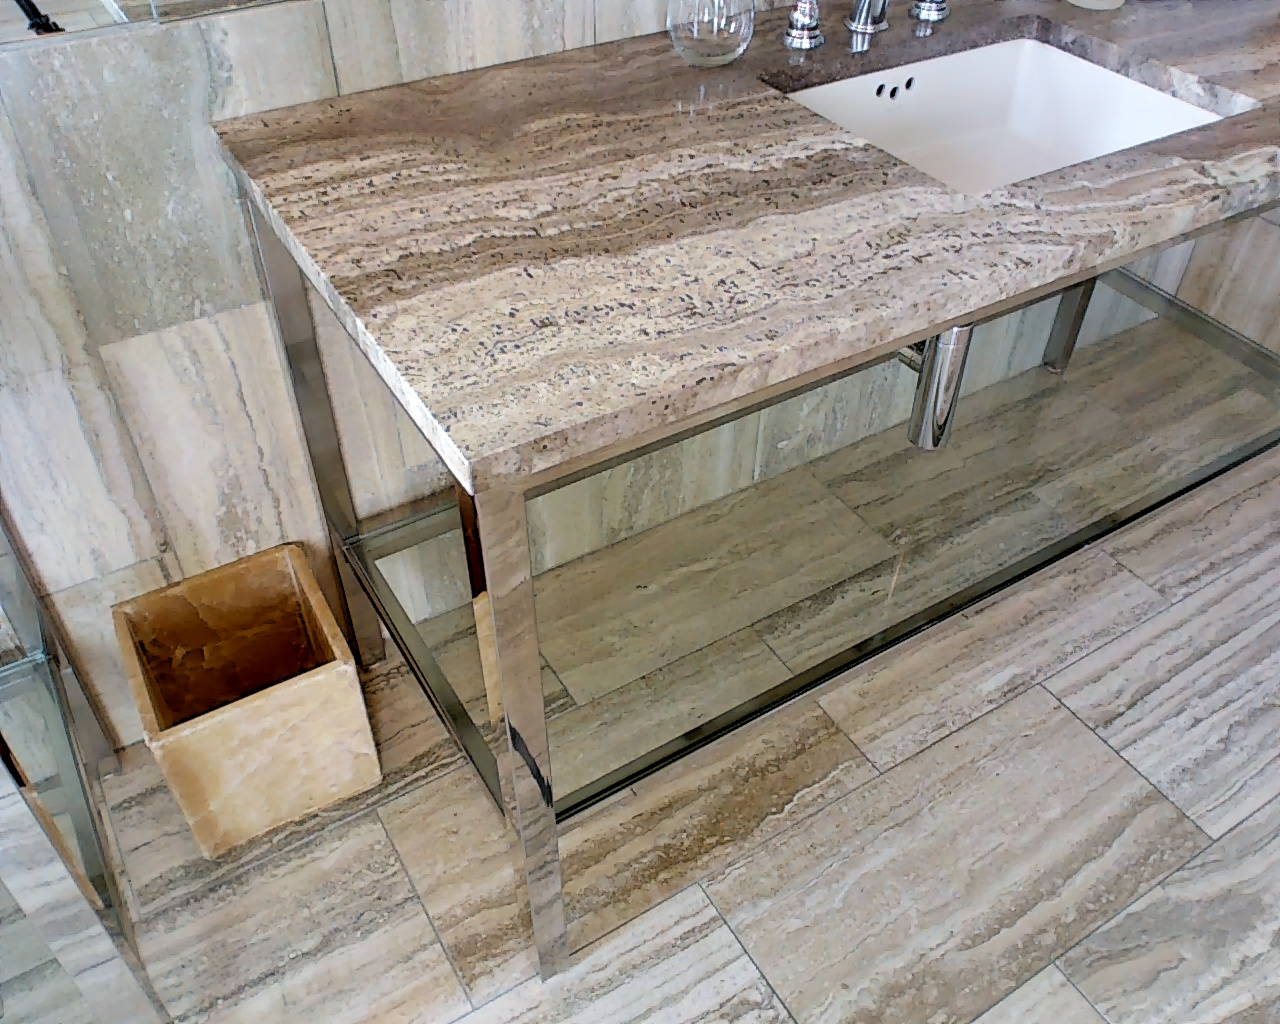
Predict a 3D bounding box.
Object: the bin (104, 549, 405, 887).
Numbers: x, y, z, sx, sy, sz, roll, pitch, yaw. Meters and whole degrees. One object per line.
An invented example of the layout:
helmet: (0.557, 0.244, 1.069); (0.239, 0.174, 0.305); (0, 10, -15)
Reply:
bin: (-0.490, 0.260, 1.390); (0.260, 0.260, 0.240); (-22, 47, -24)
